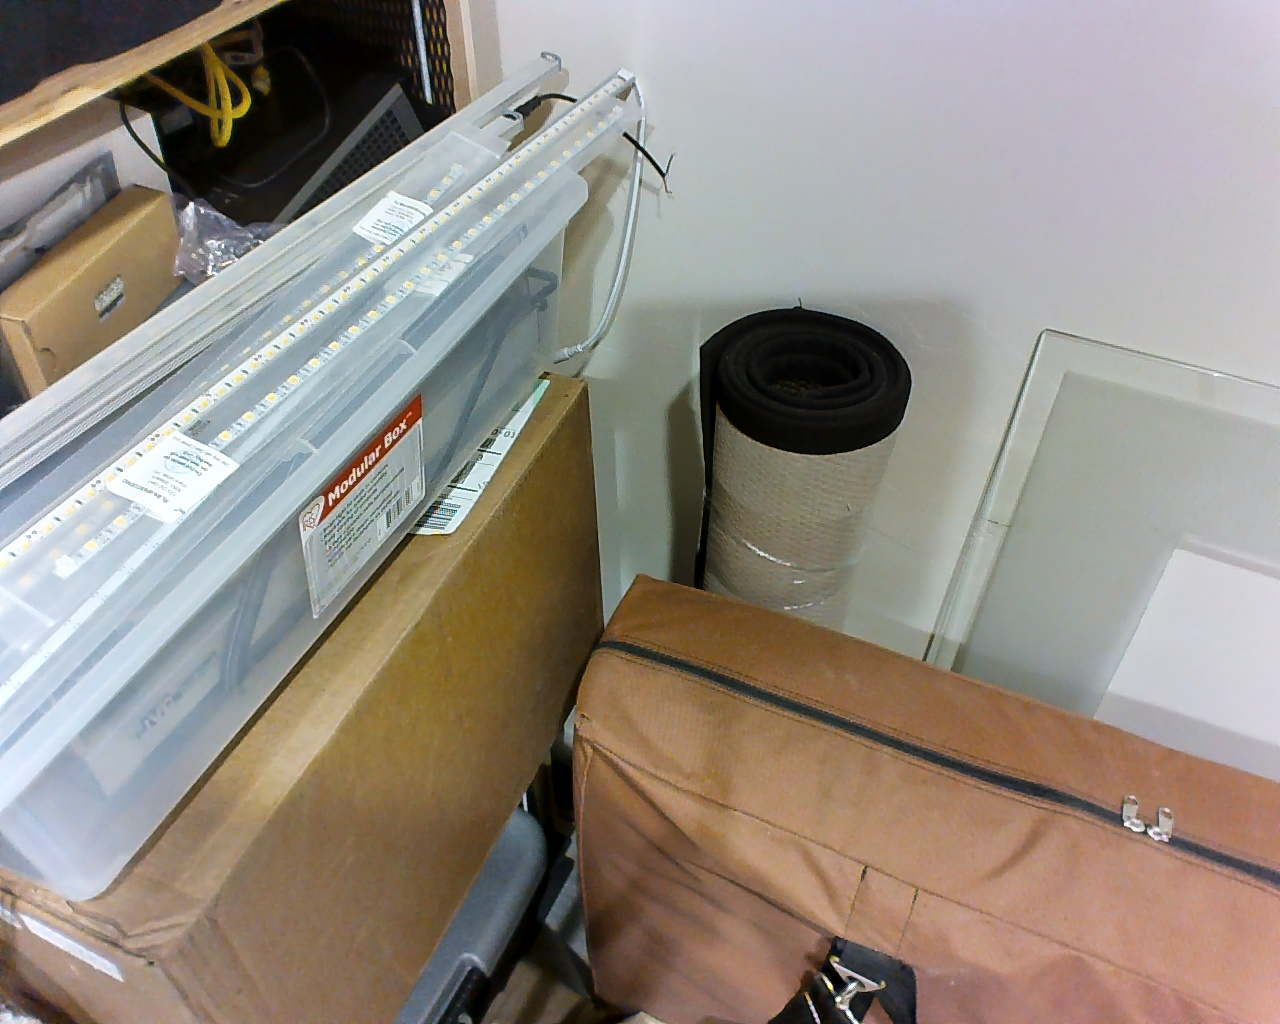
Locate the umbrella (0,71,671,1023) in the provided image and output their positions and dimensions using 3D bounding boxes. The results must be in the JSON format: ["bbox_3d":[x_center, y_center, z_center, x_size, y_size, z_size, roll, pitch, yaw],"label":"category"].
[{"bbox_3d":[-0.240,0.020,0.630,0.160,0.220,0.930,17,45,17],"label":"umbrella"}]
